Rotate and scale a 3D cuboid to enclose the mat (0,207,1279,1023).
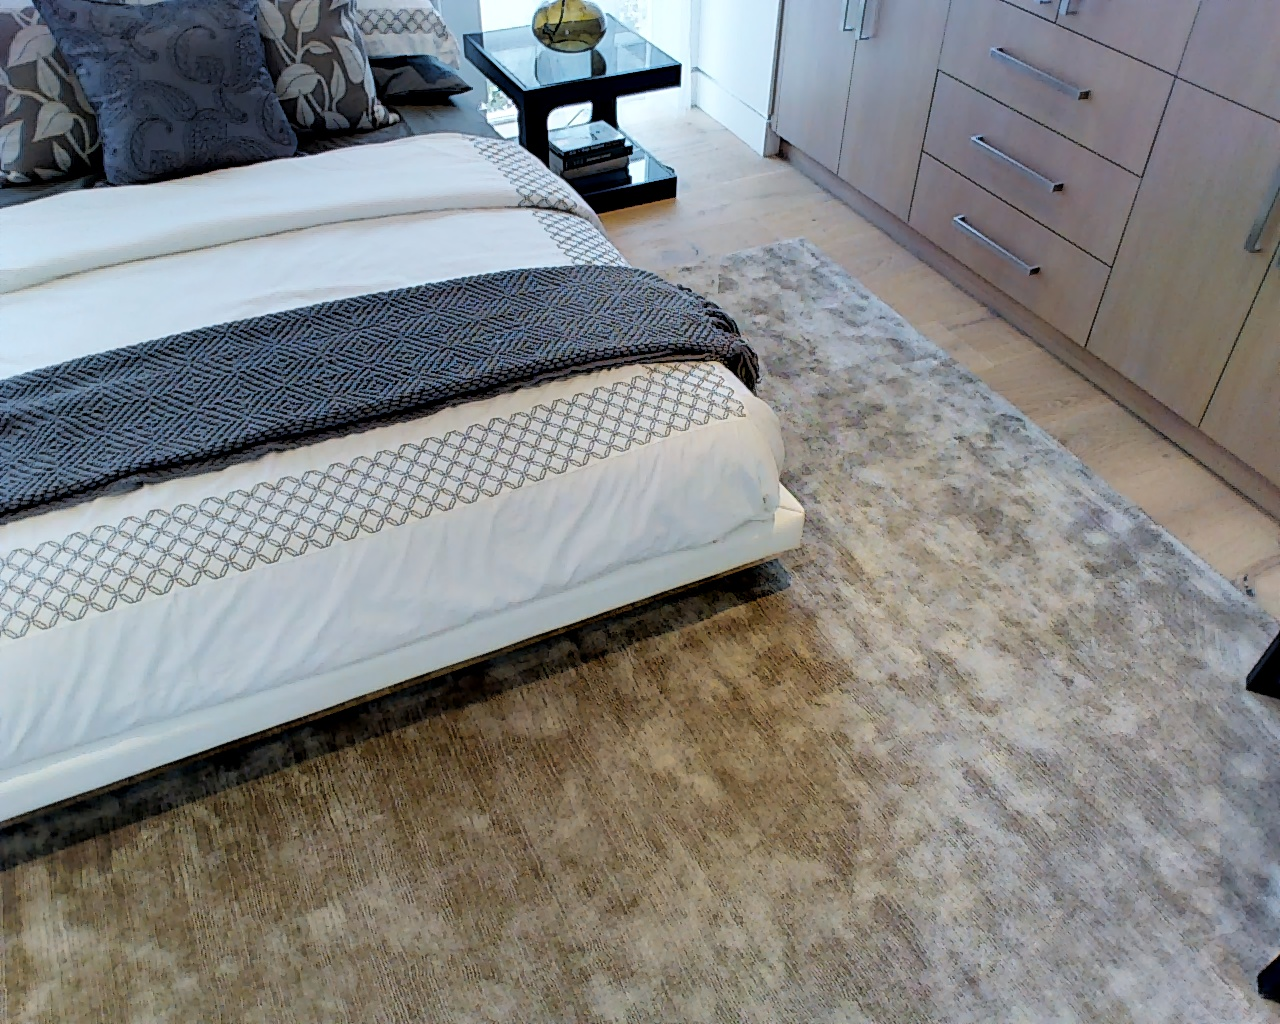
[{"bbox_3d":[-0.400,0.330,1.950,3.469,0.120,2.380,-18,45,-20],"label":"mat"}]
